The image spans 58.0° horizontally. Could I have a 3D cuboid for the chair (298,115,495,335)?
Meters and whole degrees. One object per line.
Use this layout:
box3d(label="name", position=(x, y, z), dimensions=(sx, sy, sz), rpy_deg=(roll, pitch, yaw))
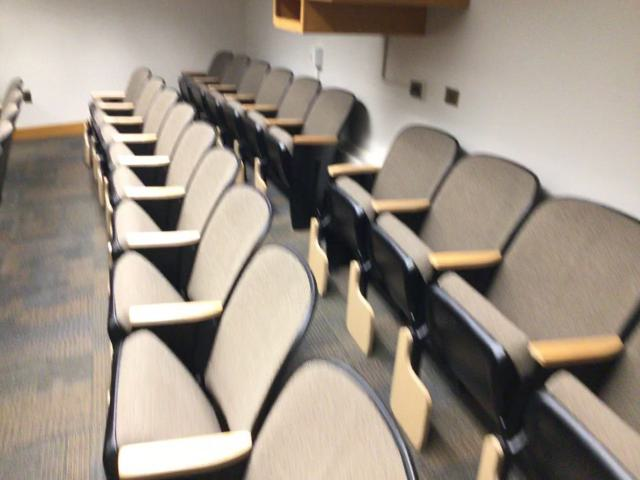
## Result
box3d(label="chair", position=(0.290, -0.080, 2.550), dimensions=(0.540, 0.790, 0.530), rpy_deg=(-1, 24, -22))

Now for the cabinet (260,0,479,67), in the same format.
box3d(label="cabinet", position=(0.180, -1.150, 2.560), dimensions=(0.610, 0.540, 0.950), rpy_deg=(-1, 24, -22))

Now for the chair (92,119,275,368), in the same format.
box3d(label="chair", position=(-0.590, 0.010, 2.340), dimensions=(0.580, 0.830, 0.490), rpy_deg=(2, 23, -23))

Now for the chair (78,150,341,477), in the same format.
box3d(label="chair", position=(-0.440, 0.230, 1.970), dimensions=(0.600, 0.810, 0.660), rpy_deg=(8, 21, -26))

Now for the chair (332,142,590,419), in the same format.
box3d(label="chair", position=(0.460, 0.120, 2.150), dimensions=(0.550, 0.810, 0.560), rpy_deg=(-1, 24, -22))

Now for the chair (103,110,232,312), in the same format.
box3d(label="chair", position=(-0.740, -0.140, 2.700), dimensions=(0.500, 0.800, 0.450), rpy_deg=(-1, 24, -22))

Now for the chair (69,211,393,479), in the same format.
box3d(label="chair", position=(-0.300, 0.450, 1.450), dimensions=(0.530, 0.830, 0.590), rpy_deg=(6, 22, -25))

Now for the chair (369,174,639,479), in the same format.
box3d(label="chair", position=(0.590, 0.310, 1.710), dimensions=(0.530, 0.830, 0.640), rpy_deg=(-1, 24, -22))
